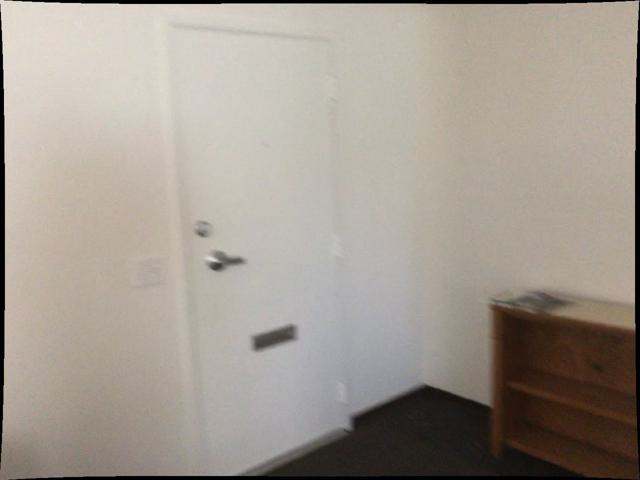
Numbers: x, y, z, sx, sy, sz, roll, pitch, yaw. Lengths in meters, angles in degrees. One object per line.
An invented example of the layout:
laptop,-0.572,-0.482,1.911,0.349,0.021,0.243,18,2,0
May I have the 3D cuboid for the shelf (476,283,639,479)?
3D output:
shelf,1.118,0.661,2.430,0.360,0.781,0.819,-9,12,-39
